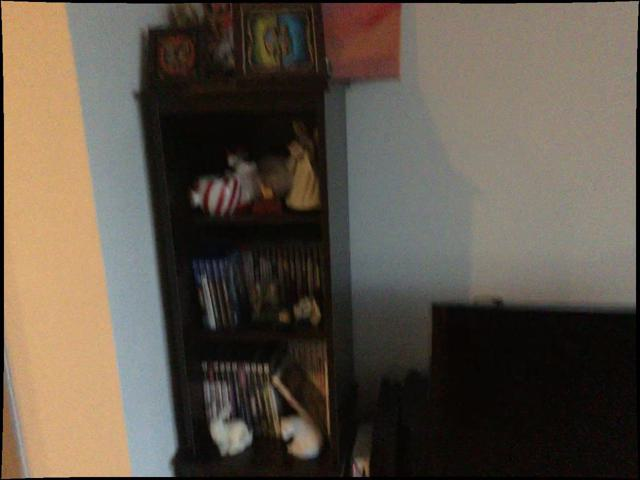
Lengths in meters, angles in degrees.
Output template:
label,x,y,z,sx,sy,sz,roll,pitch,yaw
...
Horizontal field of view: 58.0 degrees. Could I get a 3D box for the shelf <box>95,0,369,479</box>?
label,x,y,z,sx,sy,sz,roll,pitch,yaw
shelf,-0.130,0.291,1.410,0.439,1.674,0.440,2,18,8

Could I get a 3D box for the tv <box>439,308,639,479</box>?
label,x,y,z,sx,sy,sz,roll,pitch,yaw
tv,0.628,0.411,1.210,0.718,0.501,0.090,2,18,8

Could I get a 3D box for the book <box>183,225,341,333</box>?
label,x,y,z,sx,sy,sz,roll,pitch,yaw
book,-0.120,0.080,1.330,0.309,0.160,0.230,2,18,8
